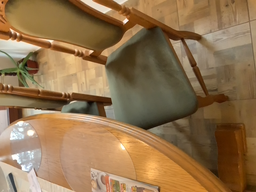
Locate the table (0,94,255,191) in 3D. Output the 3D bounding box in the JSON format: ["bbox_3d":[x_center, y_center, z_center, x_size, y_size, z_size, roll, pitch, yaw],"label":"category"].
[{"bbox_3d":[-0.090,0.620,1.290,1.880,0.810,1.110,-6,89,42],"label":"table"}]

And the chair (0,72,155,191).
[{"bbox_3d":[-0.380,0.210,1.360,0.470,1.040,0.570,-21,79,41],"label":"chair"}]
